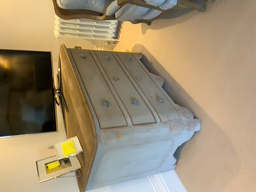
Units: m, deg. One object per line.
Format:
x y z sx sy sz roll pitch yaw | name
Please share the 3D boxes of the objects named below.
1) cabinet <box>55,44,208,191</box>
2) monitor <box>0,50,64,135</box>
-0.100 0.110 1.870 1.080 0.860 0.640 59 142 43 | cabinet
-0.830 -0.050 1.810 0.030 0.470 0.700 -29 68 60 | monitor
